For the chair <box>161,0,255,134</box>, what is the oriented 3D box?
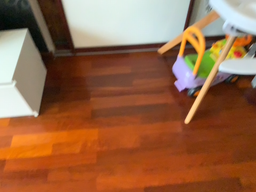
[{"bbox_3d":[0.570,-0.390,1.080,0.550,0.960,0.760,-5,55,-3],"label":"chair"}]
